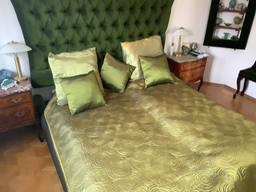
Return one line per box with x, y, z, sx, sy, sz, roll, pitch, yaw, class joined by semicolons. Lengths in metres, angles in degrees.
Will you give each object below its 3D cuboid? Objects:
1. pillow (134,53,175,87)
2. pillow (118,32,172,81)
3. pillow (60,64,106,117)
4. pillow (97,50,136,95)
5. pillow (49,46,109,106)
0.320;-0.340;2.670;0.380;0.300;0.300;-11;31;-22;pillow
0.210;-0.530;2.800;0.600;0.510;0.230;-16;48;-27;pillow
-0.480;-0.060;2.250;0.380;0.400;0.280;-16;49;-28;pillow
-0.150;-0.300;2.610;0.380;0.420;0.270;-14;32;-27;pillow
-0.560;-0.220;2.380;0.550;0.590;0.240;-13;56;-25;pillow
